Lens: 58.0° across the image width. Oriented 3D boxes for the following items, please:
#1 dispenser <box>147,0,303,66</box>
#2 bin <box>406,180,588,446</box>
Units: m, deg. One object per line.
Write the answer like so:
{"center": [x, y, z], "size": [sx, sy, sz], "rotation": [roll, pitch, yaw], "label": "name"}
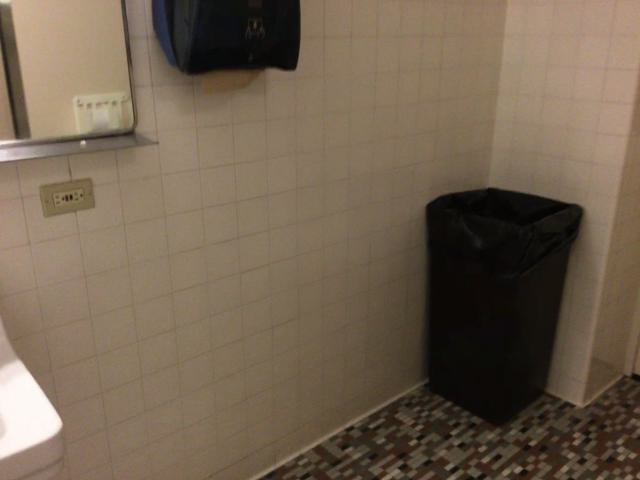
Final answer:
{"center": [-0.220, -0.580, 1.340], "size": [0.310, 0.330, 0.170], "rotation": [-15, 22, -37], "label": "dispenser"}
{"center": [0.660, 0.240, 2.230], "size": [0.470, 0.830, 0.430], "rotation": [-15, 22, -37], "label": "bin"}
